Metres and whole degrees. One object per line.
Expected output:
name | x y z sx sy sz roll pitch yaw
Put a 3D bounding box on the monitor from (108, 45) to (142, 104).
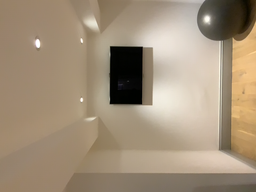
monitor | -0.050 -0.330 3.280 0.040 0.510 0.900 133 138 -88
